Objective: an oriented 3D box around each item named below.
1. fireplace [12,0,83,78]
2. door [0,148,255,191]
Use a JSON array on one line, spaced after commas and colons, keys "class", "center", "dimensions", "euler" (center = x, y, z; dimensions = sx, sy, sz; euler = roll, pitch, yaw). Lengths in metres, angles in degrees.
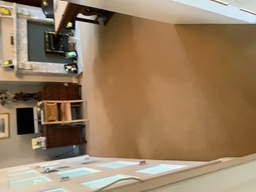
[{"class": "fireplace", "center": [-1.660, -1.210, 4.350], "dimensions": [0.480, 1.220, 1.560], "euler": [-27, 68, 56]}, {"class": "door", "center": [-0.850, 0.860, 2.310], "dimensions": [3.370, 2.090, 0.200], "euler": [-25, 70, 57]}]
